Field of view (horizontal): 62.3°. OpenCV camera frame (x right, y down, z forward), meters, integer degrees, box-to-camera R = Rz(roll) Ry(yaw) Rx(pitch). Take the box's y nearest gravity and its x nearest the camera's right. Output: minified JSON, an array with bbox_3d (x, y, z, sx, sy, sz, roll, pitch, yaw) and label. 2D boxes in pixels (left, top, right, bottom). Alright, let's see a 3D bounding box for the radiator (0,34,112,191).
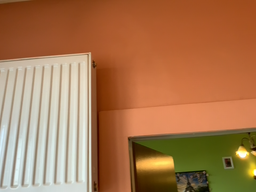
[{"bbox_3d":[-0.470,0.090,0.740,0.790,0.530,0.150,-5,-22,2],"label":"radiator"}]
